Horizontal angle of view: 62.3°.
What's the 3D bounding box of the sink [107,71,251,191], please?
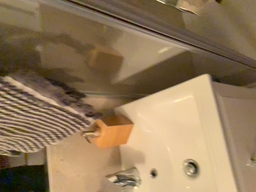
[{"bbox_3d":[0.140,0.240,0.690,0.410,0.130,0.520,-20,74,44],"label":"sink"}]
